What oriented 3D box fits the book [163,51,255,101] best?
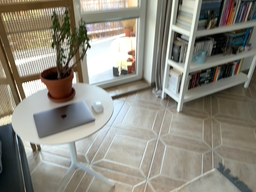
[{"bbox_3d":[1.030,-0.280,2.700,1.130,0.300,0.350,-14,36,-22],"label":"book"}]

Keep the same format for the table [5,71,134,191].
[{"bbox_3d":[-0.400,0.330,1.530,0.630,0.710,0.630,-17,37,-25],"label":"table"}]

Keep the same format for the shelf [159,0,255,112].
[{"bbox_3d":[1.030,-0.610,2.470,1.210,1.320,0.380,-16,37,-24],"label":"shelf"}]

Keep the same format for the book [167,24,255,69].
[{"bbox_3d":[1.010,-0.610,2.500,1.090,0.290,0.280,-15,36,-22],"label":"book"}]
